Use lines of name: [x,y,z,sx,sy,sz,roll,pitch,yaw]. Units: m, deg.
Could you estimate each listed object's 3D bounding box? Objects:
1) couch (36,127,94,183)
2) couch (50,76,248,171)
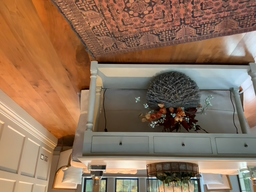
couch: [-1.240,1.230,4.270,0.750,0.930,0.700,-21,148,37]
couch: [0.190,0.380,2.530,1.810,0.870,0.900,1,155,0]
